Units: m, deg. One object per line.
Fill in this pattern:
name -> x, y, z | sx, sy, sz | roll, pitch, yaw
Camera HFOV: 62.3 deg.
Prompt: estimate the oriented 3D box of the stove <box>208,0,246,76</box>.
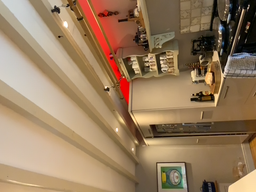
stove -> 0.940, -0.790, 2.120 | 0.980, 0.050, 0.770 | 64, -155, -60
